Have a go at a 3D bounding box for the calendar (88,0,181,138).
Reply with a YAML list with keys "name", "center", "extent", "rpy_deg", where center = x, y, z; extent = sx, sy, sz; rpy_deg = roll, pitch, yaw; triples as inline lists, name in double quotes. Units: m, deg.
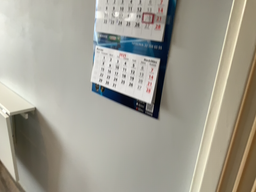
- name: "calendar"
  center: [0.010, -0.340, 0.630]
  extent: [0.050, 0.870, 0.340]
  rpy_deg: [-11, 25, -41]
